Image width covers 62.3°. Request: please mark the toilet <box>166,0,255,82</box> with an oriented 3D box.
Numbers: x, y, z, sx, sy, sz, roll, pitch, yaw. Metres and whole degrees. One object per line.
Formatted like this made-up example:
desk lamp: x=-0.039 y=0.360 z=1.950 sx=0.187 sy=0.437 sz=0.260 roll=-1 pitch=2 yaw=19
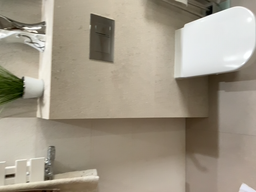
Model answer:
toilet: x=0.590 y=-0.300 z=1.390 sx=0.510 sy=0.430 sz=0.340 roll=-2 pitch=85 yaw=54
